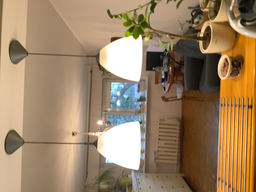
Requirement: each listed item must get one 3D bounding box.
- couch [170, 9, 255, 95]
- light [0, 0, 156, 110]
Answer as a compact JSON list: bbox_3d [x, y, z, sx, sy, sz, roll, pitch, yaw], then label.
[{"bbox_3d":[1.180,-0.520,3.110,1.360,0.750,0.940,-145,57,-86],"label":"couch"},{"bbox_3d":[-0.220,-0.220,1.020,0.270,0.660,0.150,-54,18,22],"label":"light"}]
